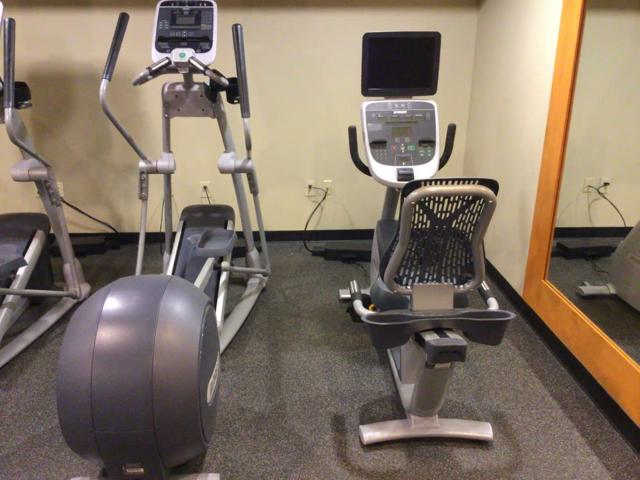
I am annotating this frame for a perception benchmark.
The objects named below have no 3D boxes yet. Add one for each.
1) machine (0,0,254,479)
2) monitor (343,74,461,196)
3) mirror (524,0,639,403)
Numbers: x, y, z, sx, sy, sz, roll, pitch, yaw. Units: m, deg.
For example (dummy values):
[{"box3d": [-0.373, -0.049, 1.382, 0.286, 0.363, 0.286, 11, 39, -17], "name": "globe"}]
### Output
[{"box3d": [-0.620, -0.260, 2.320, 0.630, 1.670, 1.630, 0, 21, -4], "name": "machine"}, {"box3d": [0.370, -0.470, 2.620, 0.350, 0.400, 0.110, 35, 3, -11], "name": "monitor"}, {"box3d": [1.150, -0.420, 2.150, 0.110, 1.750, 1.130, -1, 21, -3], "name": "mirror"}]
